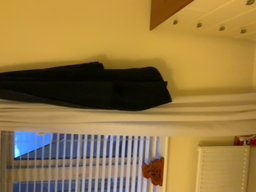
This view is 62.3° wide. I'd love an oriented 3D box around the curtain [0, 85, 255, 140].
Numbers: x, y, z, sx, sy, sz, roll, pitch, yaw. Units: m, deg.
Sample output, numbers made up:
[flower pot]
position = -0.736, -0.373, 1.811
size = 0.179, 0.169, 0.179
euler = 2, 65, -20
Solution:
[curtain]
position = 0.130, 0.120, 1.430
size = 0.200, 2.140, 0.290
euler = -166, 79, -75
